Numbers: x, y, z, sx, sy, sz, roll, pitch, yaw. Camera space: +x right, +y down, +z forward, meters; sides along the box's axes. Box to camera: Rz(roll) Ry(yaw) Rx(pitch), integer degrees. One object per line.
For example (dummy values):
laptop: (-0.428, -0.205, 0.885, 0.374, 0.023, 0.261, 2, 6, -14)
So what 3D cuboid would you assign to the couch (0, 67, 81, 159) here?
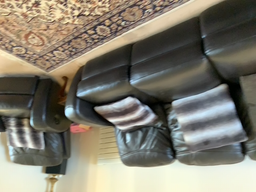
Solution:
couch: (-1.270, 0.280, 2.690, 0.960, 0.860, 1.040, 0, 156, 5)

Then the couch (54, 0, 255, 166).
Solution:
couch: (0.580, 0.040, 1.900, 2.110, 0.940, 1.230, -15, 151, 34)
